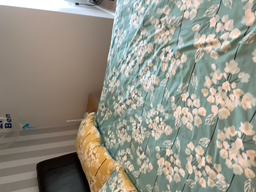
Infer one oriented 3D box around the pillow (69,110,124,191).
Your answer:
[{"bbox_3d":[-0.290,0.460,1.690,0.660,0.190,0.390,49,134,49],"label":"pillow"}]
